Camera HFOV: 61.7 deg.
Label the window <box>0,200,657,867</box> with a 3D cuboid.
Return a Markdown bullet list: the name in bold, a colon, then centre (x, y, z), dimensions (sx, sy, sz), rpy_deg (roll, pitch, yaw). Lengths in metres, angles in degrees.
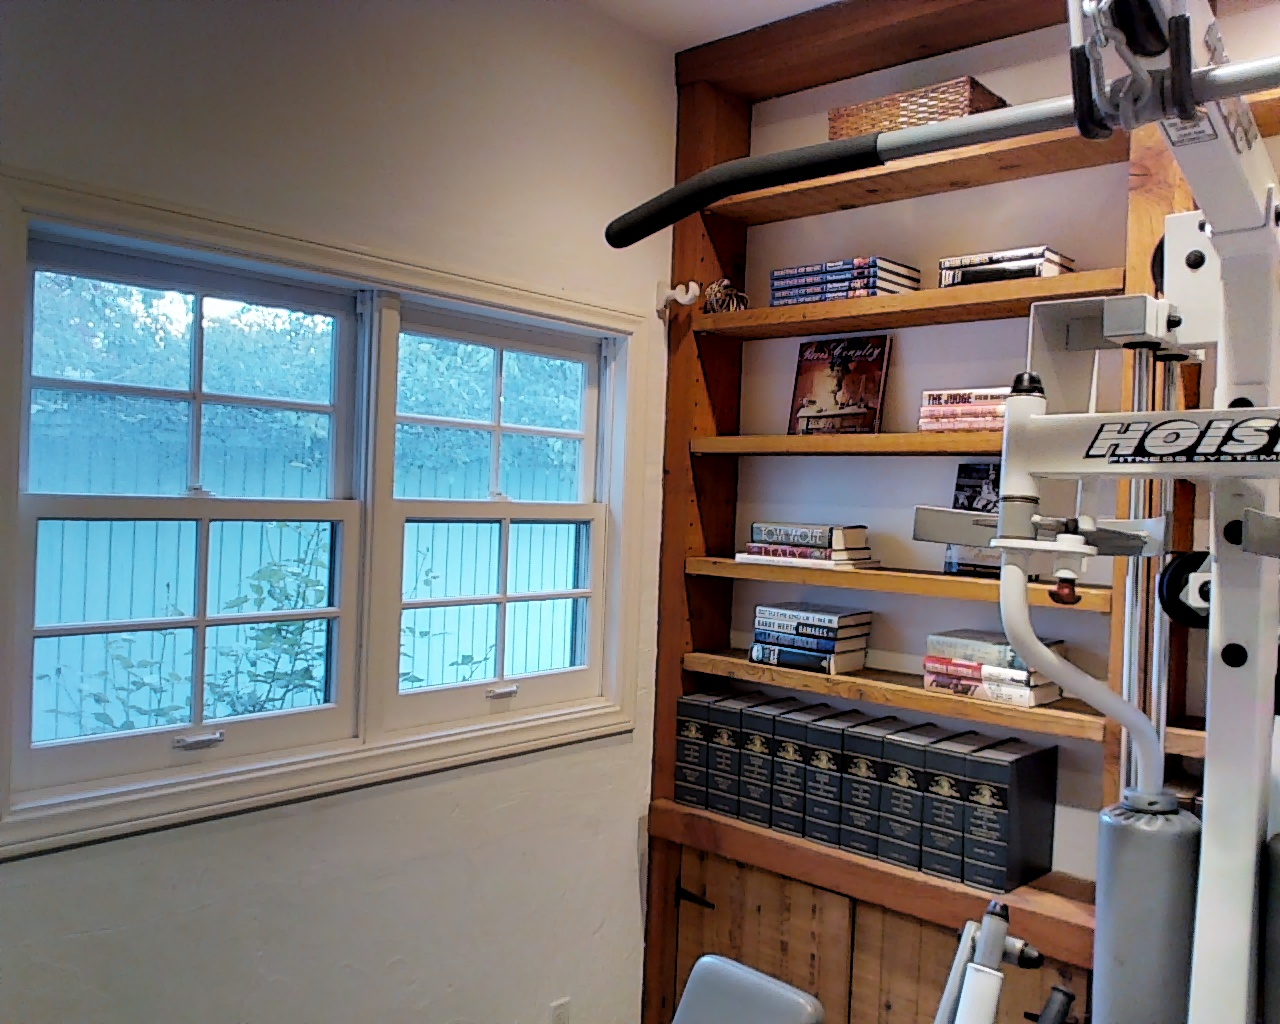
- **window**: centre (-0.570, 0.050, 2.340), dimensions (0.130, 1.080, 1.620), rpy_deg (3, 1, 42)
